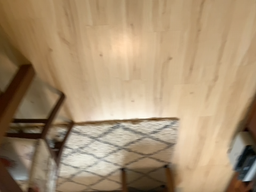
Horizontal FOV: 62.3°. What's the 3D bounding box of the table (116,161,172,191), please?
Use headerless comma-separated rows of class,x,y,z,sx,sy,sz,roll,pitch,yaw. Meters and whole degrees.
table,0.160,1.020,2.290,0.540,0.390,0.460,-3,131,0
